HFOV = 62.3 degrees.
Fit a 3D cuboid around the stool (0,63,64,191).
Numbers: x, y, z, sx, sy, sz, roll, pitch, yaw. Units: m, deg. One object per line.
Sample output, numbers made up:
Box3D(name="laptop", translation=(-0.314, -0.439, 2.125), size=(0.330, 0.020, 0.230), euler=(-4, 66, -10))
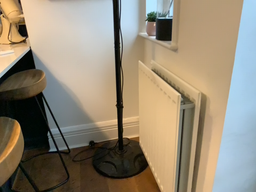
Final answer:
Box3D(name="stool", translation=(-0.680, 0.210, 1.520), size=(0.280, 0.780, 0.430), euler=(-7, 24, -10))
